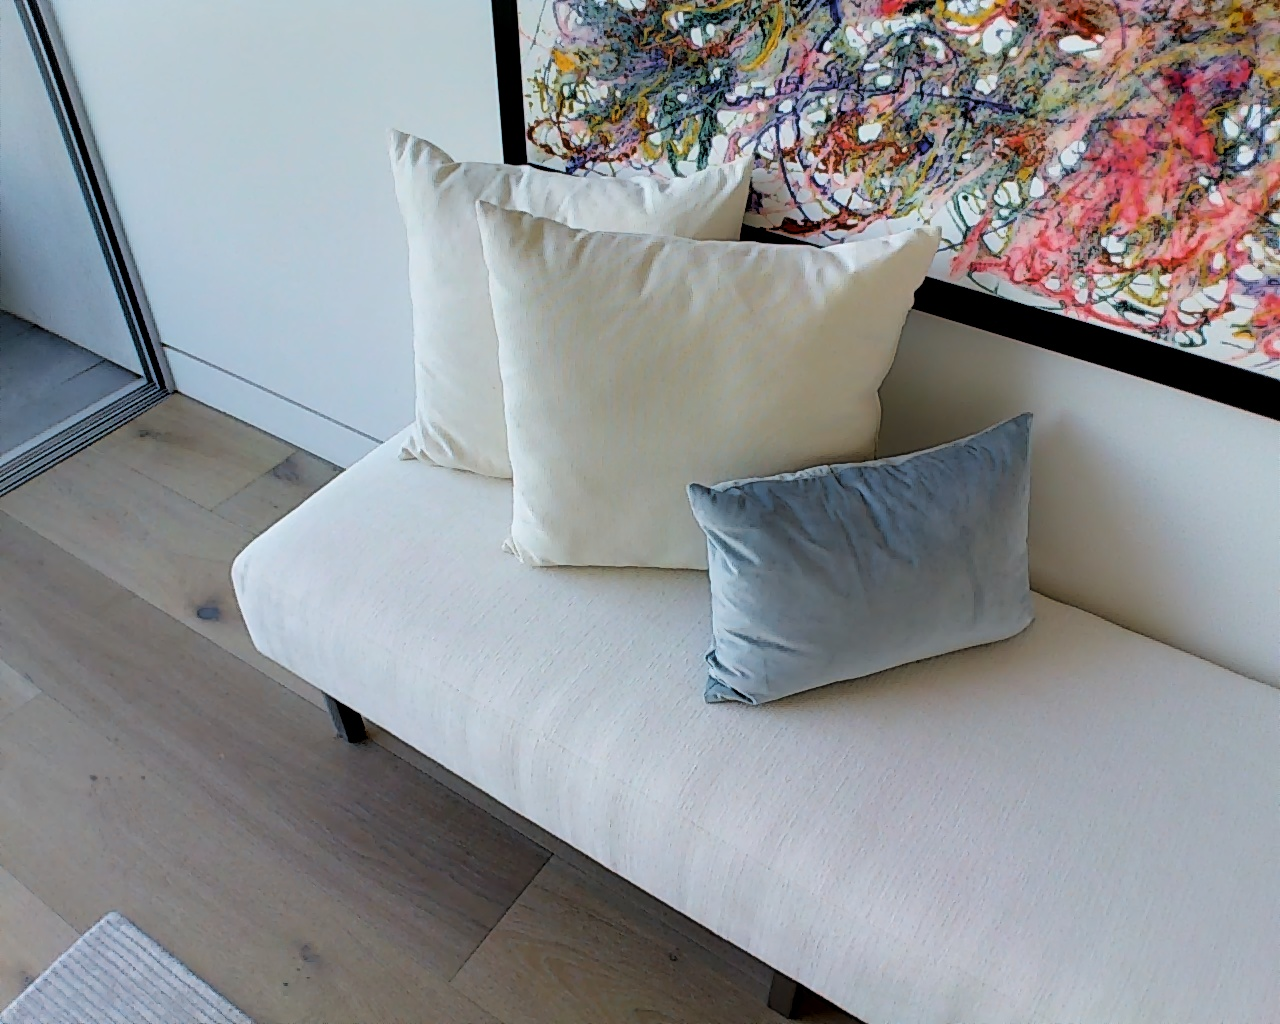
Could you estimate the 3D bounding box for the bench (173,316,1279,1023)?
[{"bbox_3d":[0.350,0.390,1.550,1.960,0.520,0.710,23,49,23],"label":"bench"}]
